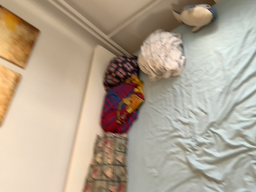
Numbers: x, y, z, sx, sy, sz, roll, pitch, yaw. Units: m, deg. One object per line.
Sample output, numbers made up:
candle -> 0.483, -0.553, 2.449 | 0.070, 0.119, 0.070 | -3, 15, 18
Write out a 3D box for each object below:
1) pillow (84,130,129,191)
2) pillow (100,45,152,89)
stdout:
pillow -> -0.160, 0.560, 1.570 | 0.210, 0.170, 0.550 | -20, 50, 39
pillow -> -0.010, -0.290, 2.050 | 0.190, 0.360, 0.320 | -42, 78, 40
